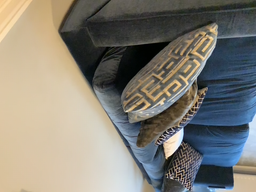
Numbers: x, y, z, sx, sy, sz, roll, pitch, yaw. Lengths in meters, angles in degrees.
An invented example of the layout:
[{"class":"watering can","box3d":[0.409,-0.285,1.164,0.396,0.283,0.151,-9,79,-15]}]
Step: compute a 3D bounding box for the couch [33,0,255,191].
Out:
[{"class":"couch","box3d":[0.510,0.290,1.950,1.140,0.760,2.620,0,144,16]}]
